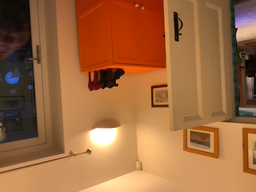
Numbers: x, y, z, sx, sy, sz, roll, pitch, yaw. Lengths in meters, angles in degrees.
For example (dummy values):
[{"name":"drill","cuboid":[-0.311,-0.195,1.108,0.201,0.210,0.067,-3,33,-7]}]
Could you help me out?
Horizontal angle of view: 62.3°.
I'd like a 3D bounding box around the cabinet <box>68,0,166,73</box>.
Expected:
[{"name":"cabinet","cuboid":[-0.110,-0.910,2.180,0.820,1.270,0.550,-4,-178,-42]}]
